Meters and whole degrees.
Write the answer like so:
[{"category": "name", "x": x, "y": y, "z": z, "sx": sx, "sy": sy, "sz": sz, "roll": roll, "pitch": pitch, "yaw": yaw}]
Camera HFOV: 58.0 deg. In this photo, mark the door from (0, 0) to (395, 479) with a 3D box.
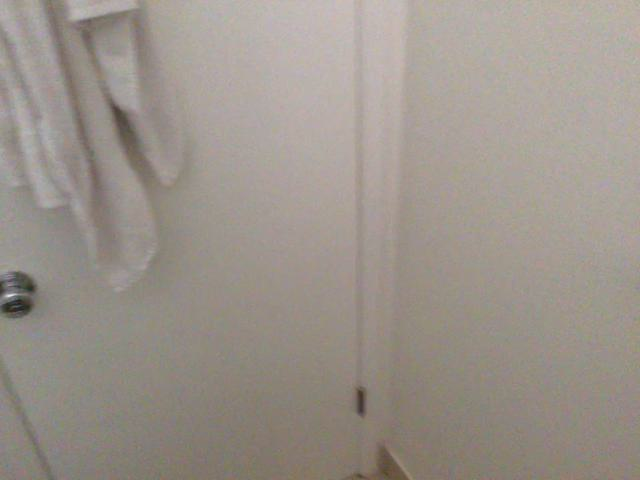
[{"category": "door", "x": -0.230, "y": -0.060, "z": 0.920, "sx": 0.760, "sy": 1.960, "sz": 0.080, "roll": -23, "pitch": 38, "yaw": -22}]
